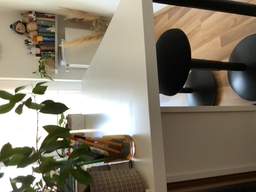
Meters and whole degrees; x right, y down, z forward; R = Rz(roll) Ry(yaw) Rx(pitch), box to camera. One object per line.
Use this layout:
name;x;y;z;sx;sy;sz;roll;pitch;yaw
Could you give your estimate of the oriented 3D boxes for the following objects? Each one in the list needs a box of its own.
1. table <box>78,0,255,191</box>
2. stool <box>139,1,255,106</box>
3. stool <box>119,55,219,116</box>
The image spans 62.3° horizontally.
table;0.230;0.110;1.420;1.530;0.930;0.780;154;115;-68
stool;0.460;-0.170;1.210;0.430;0.670;0.430;163;107;-70
stool;0.300;-0.050;1.690;0.410;0.650;0.400;163;107;-70
